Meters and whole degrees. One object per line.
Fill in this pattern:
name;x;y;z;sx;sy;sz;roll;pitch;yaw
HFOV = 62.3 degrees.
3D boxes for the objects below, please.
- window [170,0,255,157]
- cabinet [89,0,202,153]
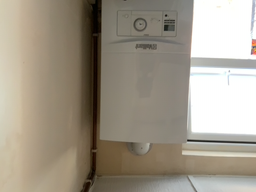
window;0.720;-0.220;1.570;0.690;1.260;0.300;2;-175;-2
cabinet;0.070;-0.140;1.150;0.480;0.760;0.400;2;-175;-1
